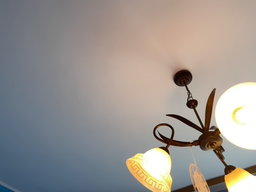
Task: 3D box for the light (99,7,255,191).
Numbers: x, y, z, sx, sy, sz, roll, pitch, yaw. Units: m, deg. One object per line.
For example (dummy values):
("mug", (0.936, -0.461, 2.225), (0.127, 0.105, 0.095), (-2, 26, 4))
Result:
("light", (0.340, 0.160, 0.810), (0.580, 0.610, 0.900), (-45, -153, 13))
